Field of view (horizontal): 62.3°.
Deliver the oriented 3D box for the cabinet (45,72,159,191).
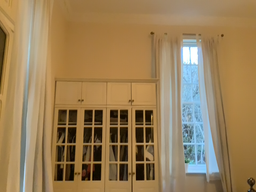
[{"bbox_3d":[-0.350,0.780,3.200,1.540,2.210,0.490,0,-10,-1],"label":"cabinet"}]
